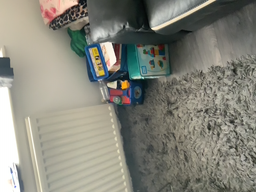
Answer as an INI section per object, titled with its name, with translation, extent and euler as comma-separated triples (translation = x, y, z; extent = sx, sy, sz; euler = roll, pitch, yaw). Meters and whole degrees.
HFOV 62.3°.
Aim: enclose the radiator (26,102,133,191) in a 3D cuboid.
[radiator]
translation = -0.290, 0.500, 1.530
extent = 0.060, 0.710, 0.840
euler = -15, 84, 46
